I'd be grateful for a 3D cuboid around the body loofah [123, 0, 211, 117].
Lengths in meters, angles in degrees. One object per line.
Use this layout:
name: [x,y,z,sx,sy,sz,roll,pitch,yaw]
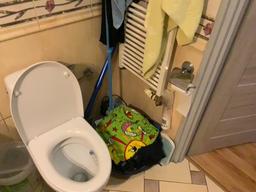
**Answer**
body loofah: [0.180,-0.450,0.890,0.220,1.210,0.270,-31,53,-34]
